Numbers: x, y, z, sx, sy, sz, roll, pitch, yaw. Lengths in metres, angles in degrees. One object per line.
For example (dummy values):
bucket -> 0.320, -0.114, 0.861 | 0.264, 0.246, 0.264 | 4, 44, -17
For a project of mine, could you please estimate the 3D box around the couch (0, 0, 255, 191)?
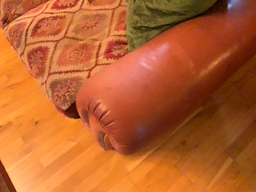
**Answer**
couch -> -0.300, -0.750, 1.430 | 1.150, 0.780, 2.280 | -35, 64, -19
